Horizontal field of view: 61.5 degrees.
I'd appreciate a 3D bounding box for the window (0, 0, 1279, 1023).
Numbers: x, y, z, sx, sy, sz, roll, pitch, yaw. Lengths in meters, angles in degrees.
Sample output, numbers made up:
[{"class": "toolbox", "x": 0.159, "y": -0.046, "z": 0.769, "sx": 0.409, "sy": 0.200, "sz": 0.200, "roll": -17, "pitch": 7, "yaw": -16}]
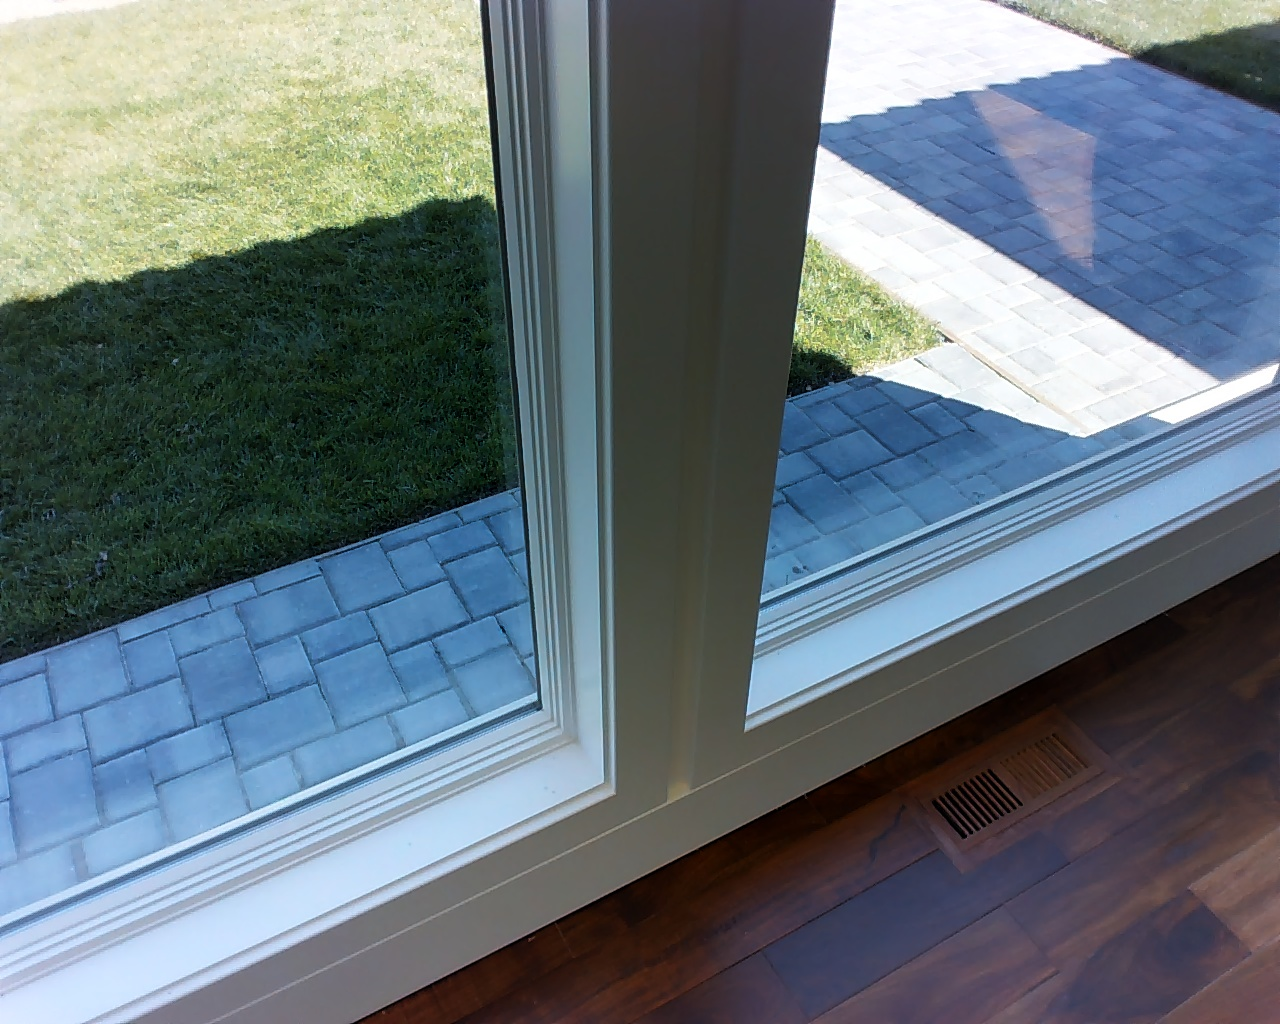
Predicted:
[{"class": "window", "x": 0.760, "y": -0.840, "z": 1.190, "sx": 3.770, "sy": 2.800, "sz": 0.200, "roll": -20, "pitch": 46, "yaw": -22}]
